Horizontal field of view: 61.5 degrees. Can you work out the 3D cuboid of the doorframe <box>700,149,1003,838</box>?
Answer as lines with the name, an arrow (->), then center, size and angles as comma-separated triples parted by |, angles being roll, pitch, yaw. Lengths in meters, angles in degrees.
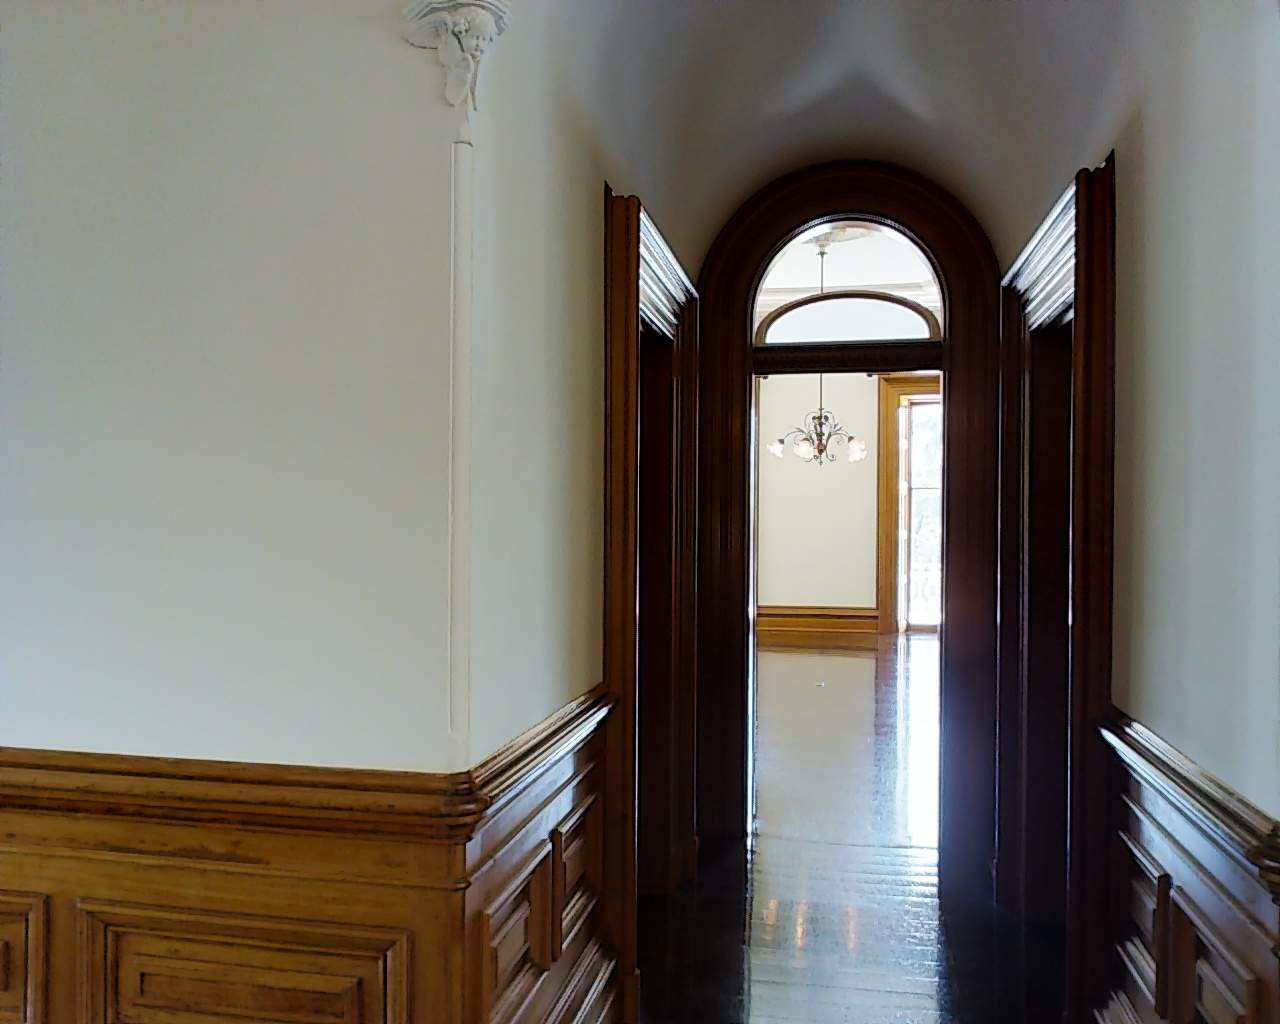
doorframe -> 1.030, -0.090, 5.340 | 1.390, 3.200, 0.420 | 0, 1, 11

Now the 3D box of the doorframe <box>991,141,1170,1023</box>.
doorframe -> 1.440, 0.250, 3.670 | 0.270, 2.520, 1.470 | 0, 1, 11

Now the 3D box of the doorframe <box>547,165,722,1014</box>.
doorframe -> 0.040, 0.230, 4.020 | 0.340, 2.540, 1.570 | 0, 1, 11
